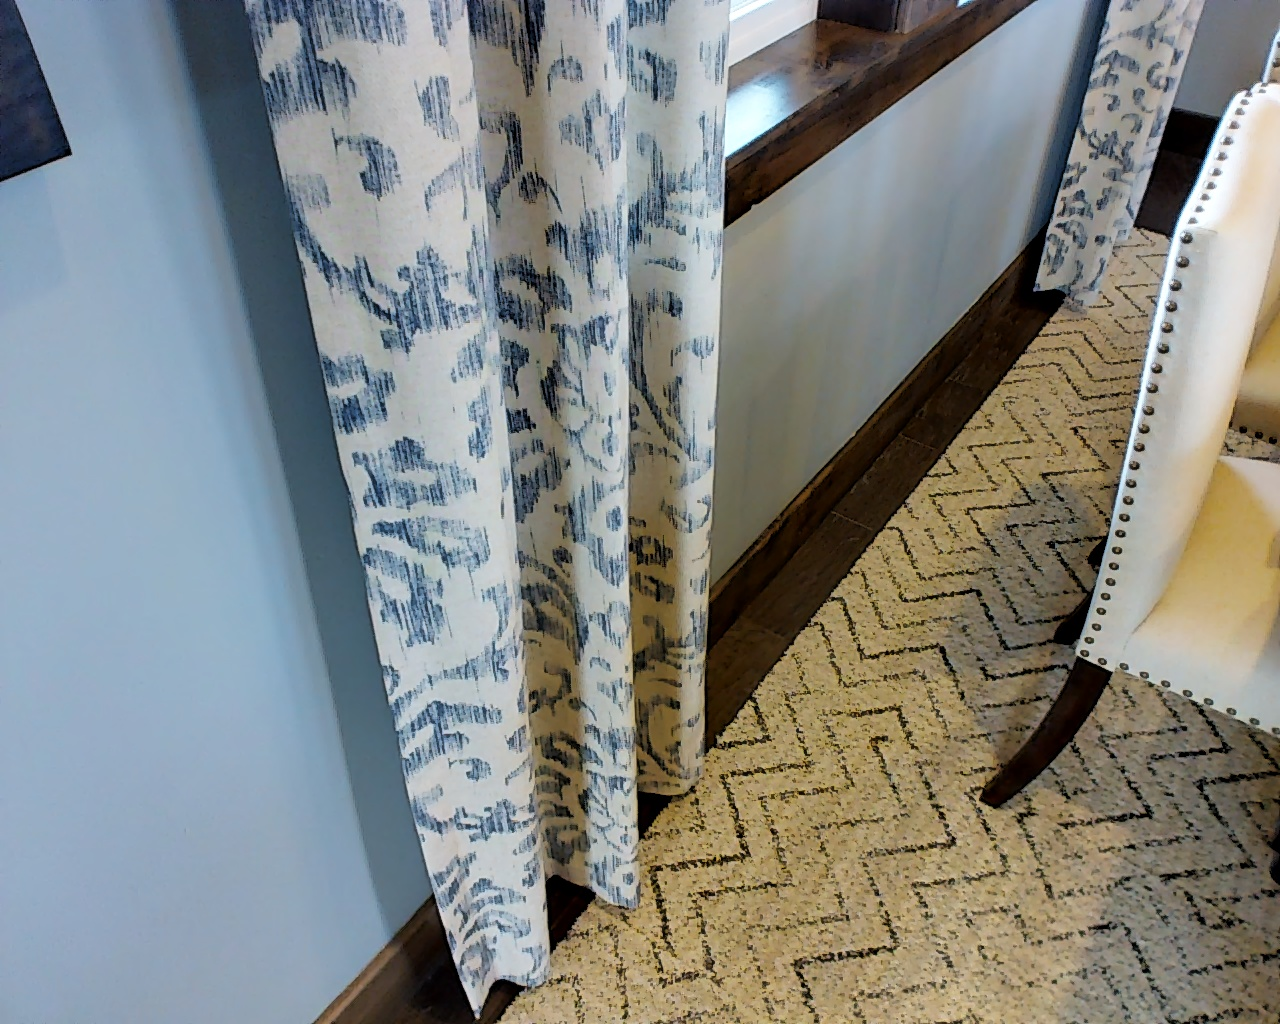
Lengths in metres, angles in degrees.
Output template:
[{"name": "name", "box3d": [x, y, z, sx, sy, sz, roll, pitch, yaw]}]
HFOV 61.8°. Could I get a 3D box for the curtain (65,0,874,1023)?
[{"name": "curtain", "box3d": [-0.060, -0.610, 0.550, 0.220, 2.990, 0.600, 25, 48, 26]}]
